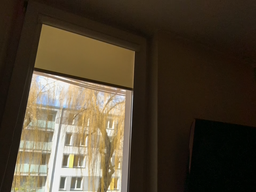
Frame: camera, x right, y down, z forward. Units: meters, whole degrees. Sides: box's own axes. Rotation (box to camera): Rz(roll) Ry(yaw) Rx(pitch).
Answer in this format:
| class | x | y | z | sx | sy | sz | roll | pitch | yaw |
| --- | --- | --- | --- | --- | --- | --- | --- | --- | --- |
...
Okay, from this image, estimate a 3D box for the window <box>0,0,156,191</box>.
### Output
| class | x | y | z | sx | sy | sz | roll | pitch | yaw |
| --- | --- | --- | --- | --- | --- | --- | --- | --- | --- |
| window | -0.300 | 0.650 | 1.050 | 0.910 | 2.500 | 0.140 | 11 | -18 | -25 |
